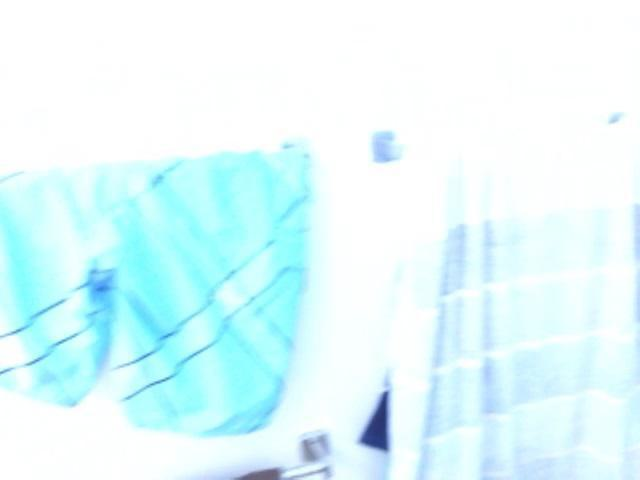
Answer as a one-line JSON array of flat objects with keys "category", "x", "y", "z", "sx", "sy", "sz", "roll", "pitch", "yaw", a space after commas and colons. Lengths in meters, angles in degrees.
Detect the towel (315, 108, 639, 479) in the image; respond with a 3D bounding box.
[{"category": "towel", "x": 0.350, "y": 0.250, "z": 1.020, "sx": 0.640, "sy": 0.890, "sz": 0.140, "roll": -9, "pitch": 17, "yaw": -16}]
